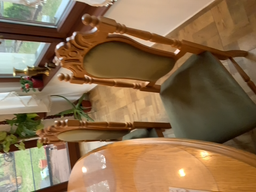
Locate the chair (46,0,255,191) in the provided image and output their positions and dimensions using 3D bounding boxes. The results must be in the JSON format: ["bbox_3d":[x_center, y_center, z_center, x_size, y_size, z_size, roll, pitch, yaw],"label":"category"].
[{"bbox_3d":[0.260,0.010,1.090,0.490,1.090,0.610,-47,58,44],"label":"chair"}]
